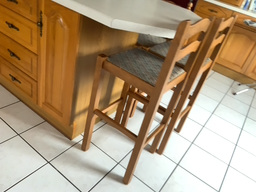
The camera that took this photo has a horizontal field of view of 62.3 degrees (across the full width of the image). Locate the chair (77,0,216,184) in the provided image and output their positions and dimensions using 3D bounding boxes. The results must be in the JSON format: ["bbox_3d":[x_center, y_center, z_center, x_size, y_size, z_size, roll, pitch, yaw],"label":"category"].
[{"bbox_3d":[0.050,-0.030,1.250,0.410,0.970,0.410,32,35,23],"label":"chair"}]

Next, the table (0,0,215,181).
[{"bbox_3d":[-0.580,-0.510,1.770,2.080,0.900,0.930,31,35,22],"label":"table"}]
